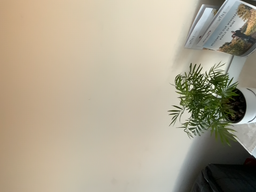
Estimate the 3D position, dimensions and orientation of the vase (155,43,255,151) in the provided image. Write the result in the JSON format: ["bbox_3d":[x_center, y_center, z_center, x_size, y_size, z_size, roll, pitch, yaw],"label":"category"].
[{"bbox_3d":[0.340,-0.010,0.830,0.280,0.330,0.300,-122,36,-56],"label":"vase"}]
